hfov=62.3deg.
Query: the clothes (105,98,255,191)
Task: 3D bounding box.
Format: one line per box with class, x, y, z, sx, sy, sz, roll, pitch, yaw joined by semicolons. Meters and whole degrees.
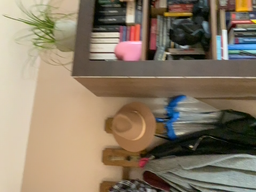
clothes;0.500;0.610;1.210;0.220;1.250;1.140;42;-130;-79
